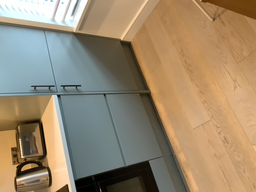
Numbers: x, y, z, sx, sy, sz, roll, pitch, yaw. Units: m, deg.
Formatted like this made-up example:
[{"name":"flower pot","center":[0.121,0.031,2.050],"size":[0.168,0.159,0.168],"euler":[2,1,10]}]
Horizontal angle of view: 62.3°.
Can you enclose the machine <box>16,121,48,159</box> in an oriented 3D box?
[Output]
[{"name":"machine","center":[-0.800,0.360,1.750],"size":[0.180,0.190,0.240],"euler":[-43,58,47]}]

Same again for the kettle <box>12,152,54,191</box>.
[{"name":"kettle","center":[-0.730,0.590,1.620],"size":[0.190,0.240,0.230],"euler":[-45,57,46]}]
